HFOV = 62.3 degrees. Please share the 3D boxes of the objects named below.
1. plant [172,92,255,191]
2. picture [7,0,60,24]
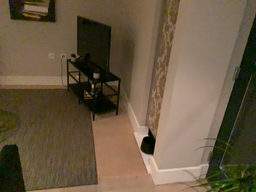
[{"bbox_3d":[0.590,0.550,1.180,0.460,1.000,0.450,-8,29,-28],"label":"plant"},{"bbox_3d":[-1.310,-1.520,2.910,0.690,0.950,0.040,0,26,-12],"label":"picture"}]
